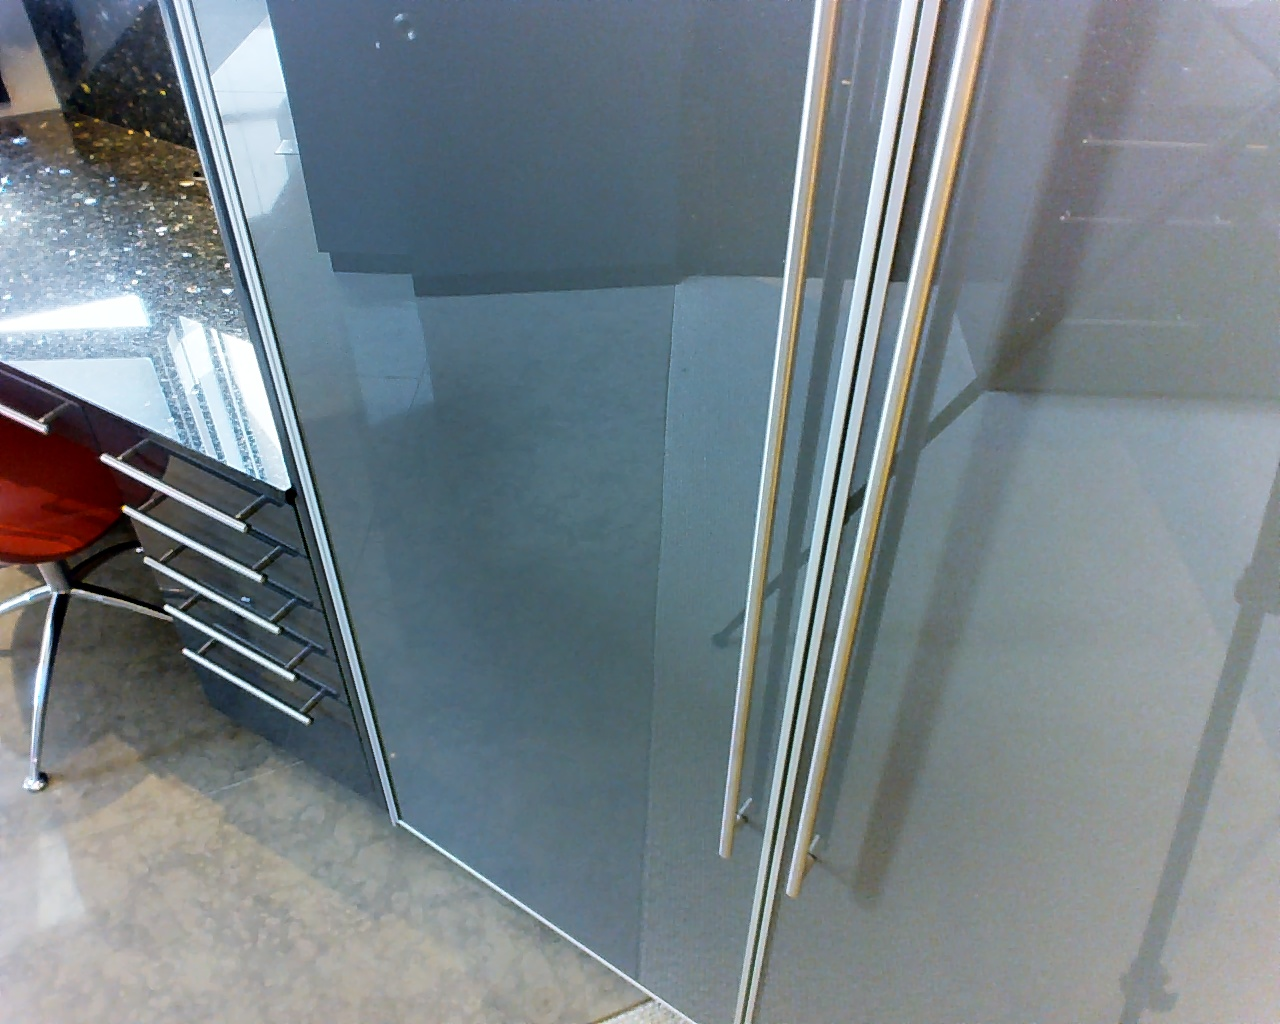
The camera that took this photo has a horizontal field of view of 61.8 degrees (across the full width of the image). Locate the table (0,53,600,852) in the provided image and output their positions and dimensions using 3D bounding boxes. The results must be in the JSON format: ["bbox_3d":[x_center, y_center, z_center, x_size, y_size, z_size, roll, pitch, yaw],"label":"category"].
[{"bbox_3d":[-0.970,-0.230,2.040,1.680,0.790,0.680,24,48,22],"label":"table"}]
